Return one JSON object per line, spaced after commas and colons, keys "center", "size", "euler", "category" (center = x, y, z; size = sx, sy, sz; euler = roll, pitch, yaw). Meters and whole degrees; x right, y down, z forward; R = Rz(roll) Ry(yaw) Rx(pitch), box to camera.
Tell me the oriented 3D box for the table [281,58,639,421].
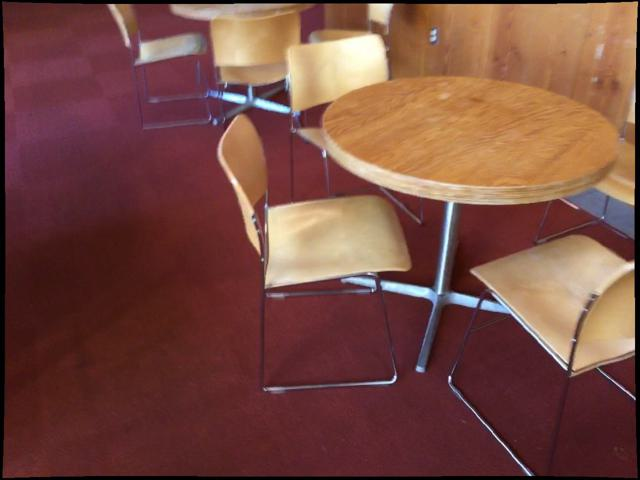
{"center": [0.480, -0.090, 2.020], "size": [0.939, 0.720, 0.870], "euler": [-15, 37, -20], "category": "table"}
